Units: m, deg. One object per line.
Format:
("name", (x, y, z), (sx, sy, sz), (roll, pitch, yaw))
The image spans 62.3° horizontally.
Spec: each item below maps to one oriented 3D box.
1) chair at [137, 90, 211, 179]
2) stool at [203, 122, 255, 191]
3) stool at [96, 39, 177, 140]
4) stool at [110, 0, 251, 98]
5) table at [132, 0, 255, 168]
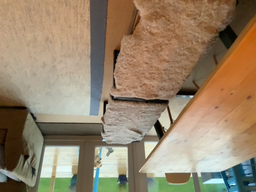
("chair", (0.460, 0.450, 2.370), (0.460, 0.800, 0.530), (14, 145, -25))
("stool", (1.480, 0.920, 3.030), (0.430, 1.000, 0.390), (3, 148, -9))
("stool", (0.000, 0.010, 1.930), (0.500, 0.480, 0.890), (4, 148, -11))
("stool", (0.180, -0.420, 1.220), (0.460, 0.490, 0.800), (4, 148, -11))
("table", (0.610, -0.070, 1.570), (0.840, 0.760, 1.810), (3, 148, -8))
